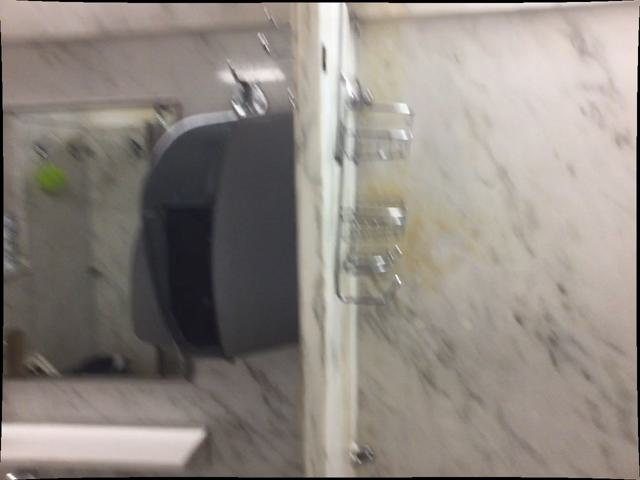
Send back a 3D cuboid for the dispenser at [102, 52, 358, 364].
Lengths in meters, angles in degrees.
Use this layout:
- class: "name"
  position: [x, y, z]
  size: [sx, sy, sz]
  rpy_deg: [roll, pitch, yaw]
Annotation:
- class: "dispenser"
  position: [-0.110, -0.060, 0.990]
  size: [0.330, 0.420, 0.400]
  rpy_deg: [0, 6, 7]
